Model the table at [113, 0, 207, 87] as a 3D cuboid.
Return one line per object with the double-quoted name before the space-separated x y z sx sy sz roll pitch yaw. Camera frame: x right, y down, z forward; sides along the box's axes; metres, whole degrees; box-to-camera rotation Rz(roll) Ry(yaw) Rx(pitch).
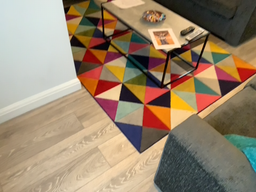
"table" 0.270 -0.570 2.140 0.510 0.440 0.750 -27 55 -25
